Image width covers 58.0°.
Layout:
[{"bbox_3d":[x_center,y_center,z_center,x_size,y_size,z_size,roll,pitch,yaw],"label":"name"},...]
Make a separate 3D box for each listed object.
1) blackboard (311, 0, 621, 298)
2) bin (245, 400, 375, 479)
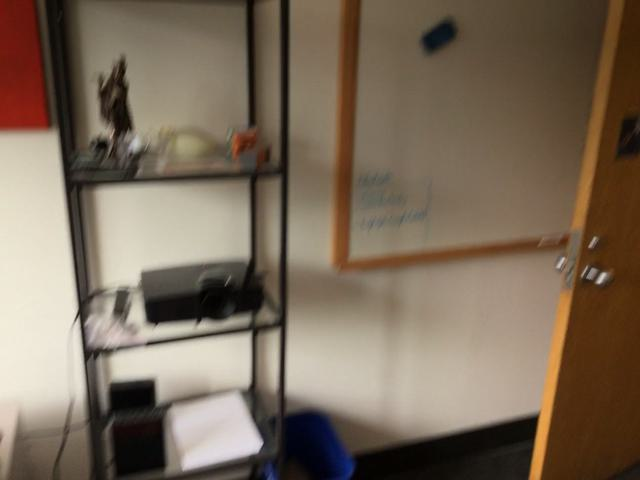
[{"bbox_3d":[0.480,-0.480,1.830,0.980,1.270,0.130,-4,18,-21],"label":"blackboard"},{"bbox_3d":[-0.050,0.820,1.920,0.320,0.390,0.340,-4,18,-21],"label":"bin"}]
